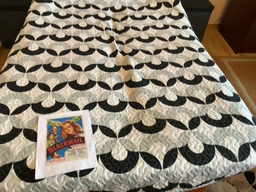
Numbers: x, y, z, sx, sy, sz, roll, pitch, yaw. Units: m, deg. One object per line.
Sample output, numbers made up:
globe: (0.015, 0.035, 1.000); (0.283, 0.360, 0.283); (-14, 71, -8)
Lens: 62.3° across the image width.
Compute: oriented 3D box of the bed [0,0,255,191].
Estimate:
bed: (-0.120, -0.270, 1.560); (1.310, 0.490, 2.000); (-3, 47, -9)
